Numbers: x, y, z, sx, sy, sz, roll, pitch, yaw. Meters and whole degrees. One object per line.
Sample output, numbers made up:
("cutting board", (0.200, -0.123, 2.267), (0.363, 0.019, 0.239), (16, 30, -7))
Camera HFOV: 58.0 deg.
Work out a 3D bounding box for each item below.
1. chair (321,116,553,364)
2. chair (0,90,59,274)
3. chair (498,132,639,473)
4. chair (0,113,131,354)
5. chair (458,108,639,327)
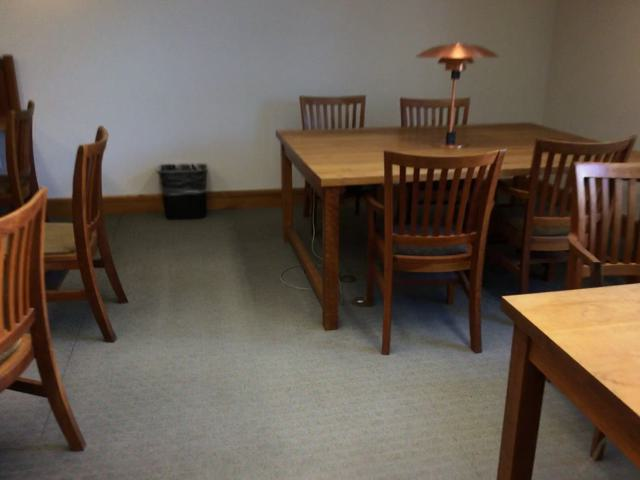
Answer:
("chair", (0.470, -0.020, 2.700), (0.710, 0.960, 0.670), (3, 19, -13))
("chair", (-1.910, -0.360, 3.330), (0.600, 0.930, 0.610), (3, 19, -13))
("chair", (1.170, 0.200, 2.010), (0.710, 0.990, 0.600), (5, 18, -6))
("chair", (-1.210, -0.040, 2.650), (0.590, 0.950, 0.560), (3, 19, -13))
("chair", (1.170, -0.110, 2.850), (0.660, 0.950, 0.460), (3, 19, -13))
